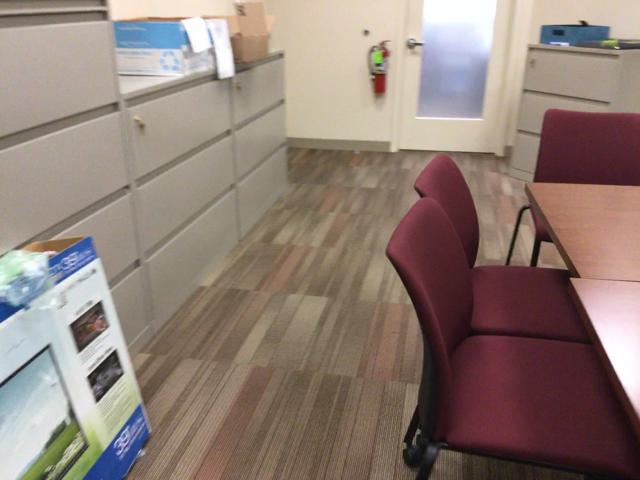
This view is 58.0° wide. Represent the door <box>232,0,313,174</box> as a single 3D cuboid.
[{"bbox_3d":[-0.340,-1.550,4.550,0.230,1.770,1.210,3,24,12],"label":"door"}]

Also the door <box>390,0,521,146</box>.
[{"bbox_3d":[1.070,-1.920,4.580,0.980,2.330,0.180,3,24,12],"label":"door"}]

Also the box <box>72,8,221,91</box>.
[{"bbox_3d":[-0.750,-0.850,2.570,0.480,0.310,0.360,3,24,12],"label":"box"}]

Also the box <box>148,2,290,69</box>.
[{"bbox_3d":[-0.530,-1.140,3.200,0.590,0.300,0.550,3,24,12],"label":"box"}]

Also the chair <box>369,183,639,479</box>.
[{"bbox_3d":[0.450,0.360,1.320,0.600,0.820,0.570,3,24,12],"label":"chair"}]

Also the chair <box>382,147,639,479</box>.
[{"bbox_3d":[0.540,0.200,1.760,0.630,0.830,0.570,3,24,12],"label":"chair"}]
